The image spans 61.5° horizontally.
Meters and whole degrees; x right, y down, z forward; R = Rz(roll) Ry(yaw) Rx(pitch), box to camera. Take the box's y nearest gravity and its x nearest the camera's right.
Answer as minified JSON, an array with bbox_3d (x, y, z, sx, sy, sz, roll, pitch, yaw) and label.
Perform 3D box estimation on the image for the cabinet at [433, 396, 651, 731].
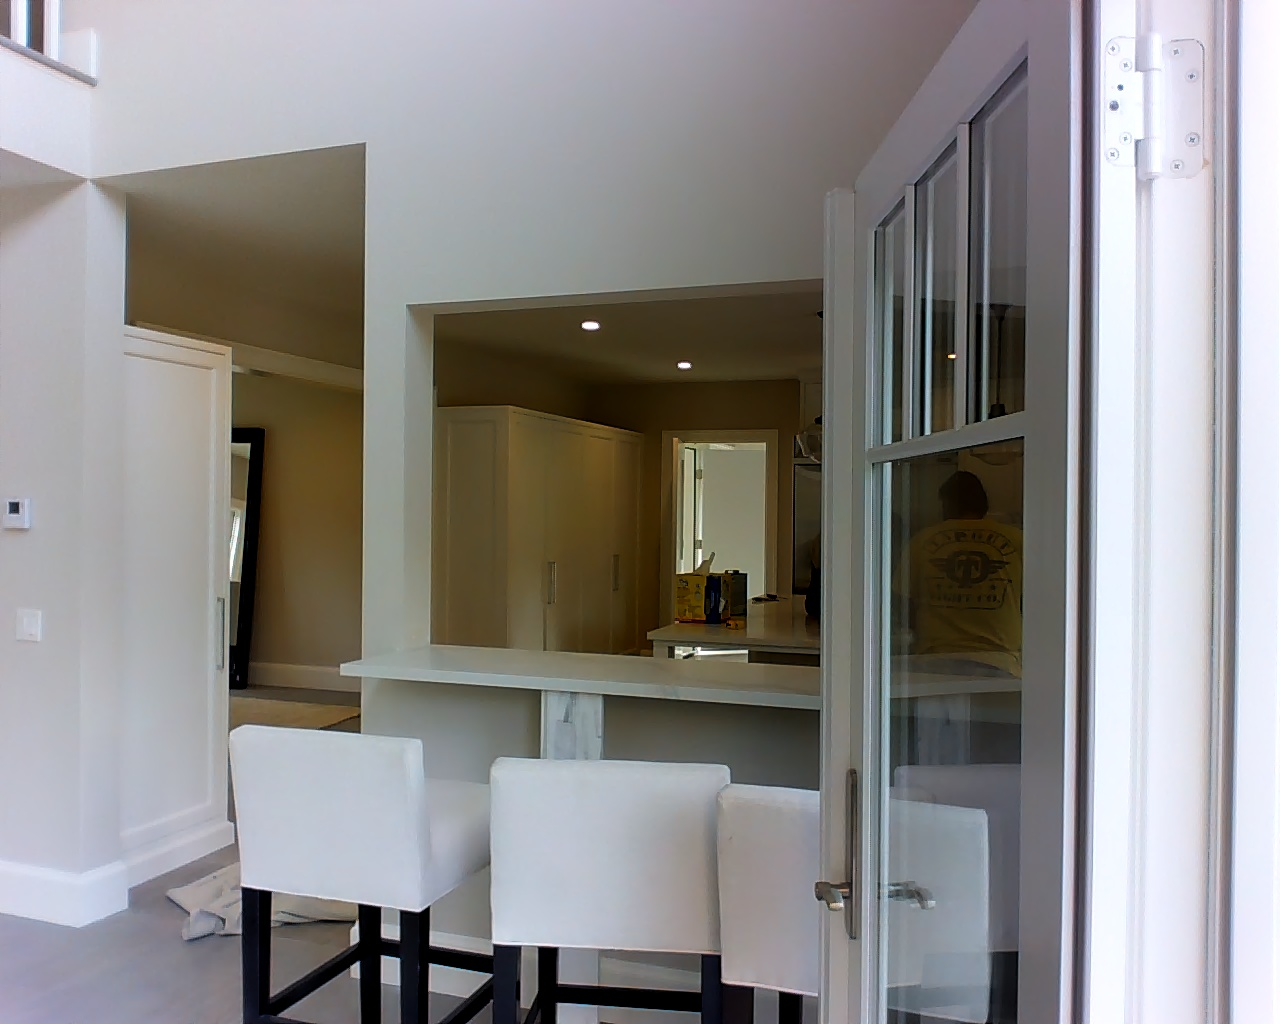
[{"bbox_3d":[-0.690,0.360,9.030,0.620,2.340,2.970,1,0,19],"label":"cabinet"}]
